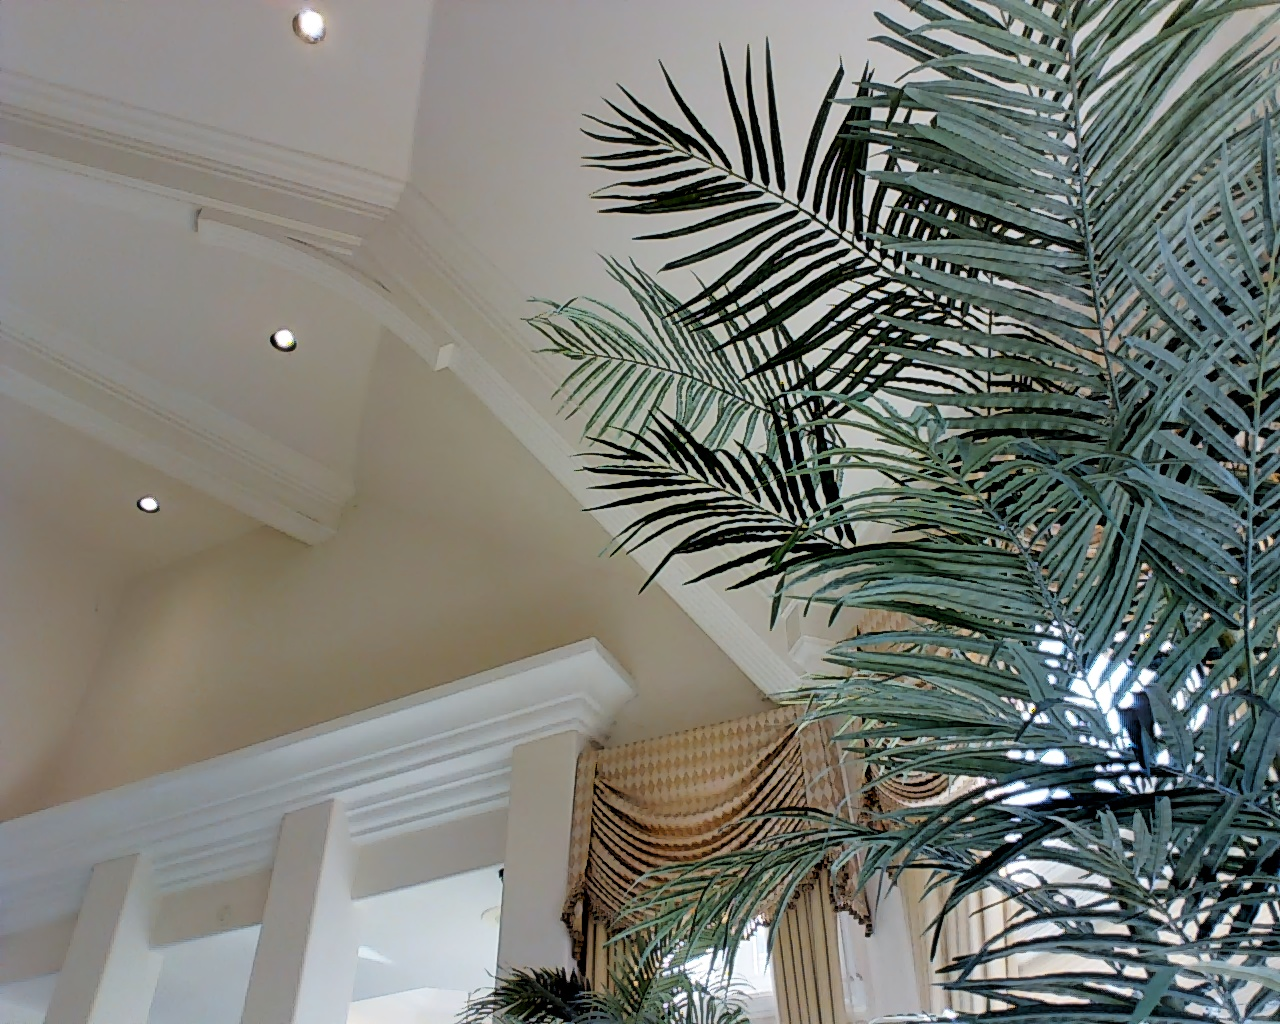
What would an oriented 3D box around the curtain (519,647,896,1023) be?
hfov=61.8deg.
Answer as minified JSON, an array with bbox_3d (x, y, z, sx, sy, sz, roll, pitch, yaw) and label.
[{"bbox_3d":[0.210,1.340,4.250,1.380,1.320,0.260,-20,-45,22],"label":"curtain"}]
